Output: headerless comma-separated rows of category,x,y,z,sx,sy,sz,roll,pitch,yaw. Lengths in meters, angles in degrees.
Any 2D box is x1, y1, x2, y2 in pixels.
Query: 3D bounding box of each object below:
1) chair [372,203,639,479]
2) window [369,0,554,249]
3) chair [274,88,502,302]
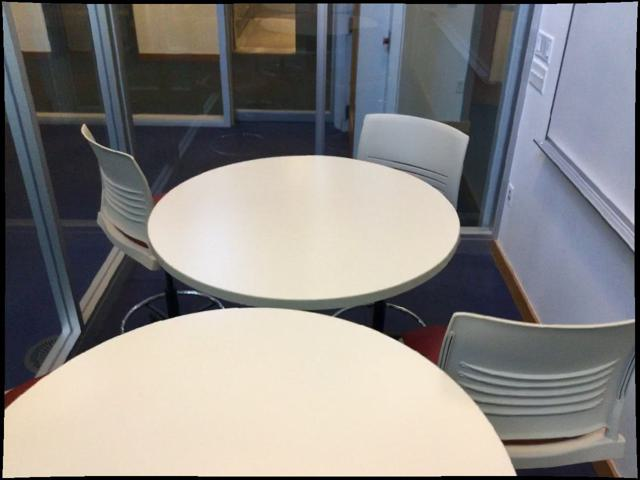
chair,0.460,0.460,1.570,0.529,1.011,0.480,0,32,-1
window,0.709,-0.761,3.160,0.749,1.661,0.400,0,32,-1
chair,0.250,-0.210,2.150,0.560,0.460,0.620,22,38,30
